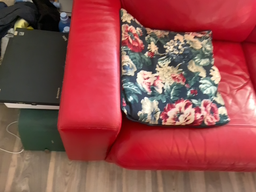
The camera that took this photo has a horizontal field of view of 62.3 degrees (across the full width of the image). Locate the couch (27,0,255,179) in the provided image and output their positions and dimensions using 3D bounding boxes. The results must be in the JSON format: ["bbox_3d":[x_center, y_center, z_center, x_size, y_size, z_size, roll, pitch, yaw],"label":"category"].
[{"bbox_3d":[0.610,-0.180,1.100,1.750,0.840,1.060,5,63,-10],"label":"couch"}]
